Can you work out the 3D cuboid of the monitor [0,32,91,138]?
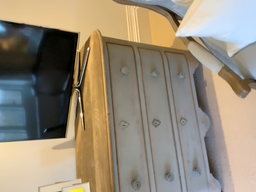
[{"bbox_3d":[-0.540,-0.040,1.330,0.070,0.520,0.630,43,126,54],"label":"monitor"}]
